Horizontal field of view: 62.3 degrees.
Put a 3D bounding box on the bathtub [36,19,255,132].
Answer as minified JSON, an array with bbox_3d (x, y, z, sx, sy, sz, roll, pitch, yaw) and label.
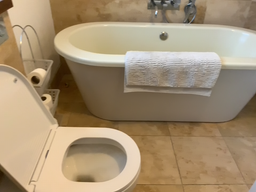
[{"bbox_3d":[0.310,-0.210,1.820,1.760,0.620,0.820,0,36,-2],"label":"bathtub"}]

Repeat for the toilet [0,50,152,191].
[{"bbox_3d":[-0.230,0.260,0.950,0.560,0.830,0.370,0,36,-2],"label":"toilet"}]
